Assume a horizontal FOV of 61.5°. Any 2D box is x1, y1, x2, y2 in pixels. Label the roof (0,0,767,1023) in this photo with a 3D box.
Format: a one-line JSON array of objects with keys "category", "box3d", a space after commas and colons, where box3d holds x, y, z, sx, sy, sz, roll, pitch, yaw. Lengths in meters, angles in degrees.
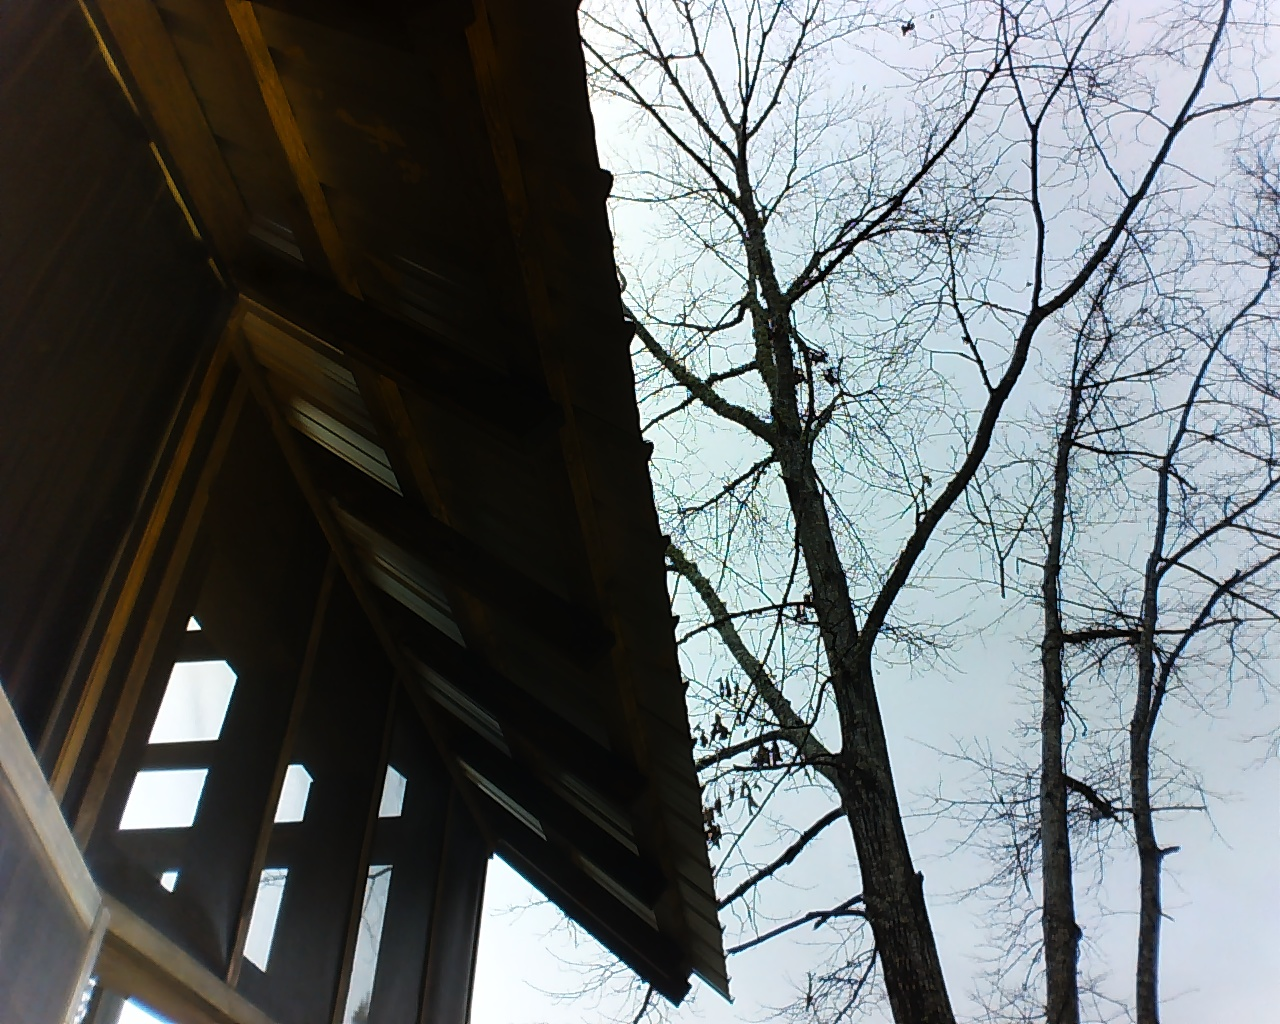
[{"category": "roof", "box3d": [-0.450, -1.220, 0.640, 0.770, 0.480, 8.650, -4, -41, 5]}]
